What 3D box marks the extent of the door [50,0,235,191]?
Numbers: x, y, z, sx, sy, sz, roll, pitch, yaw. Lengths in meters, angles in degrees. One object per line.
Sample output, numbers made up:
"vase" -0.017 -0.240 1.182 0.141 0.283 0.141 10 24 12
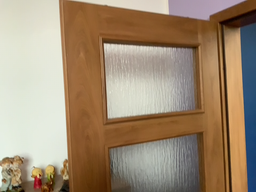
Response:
"door" 0.170 0.590 1.020 0.900 2.080 0.110 -4 0 -27
